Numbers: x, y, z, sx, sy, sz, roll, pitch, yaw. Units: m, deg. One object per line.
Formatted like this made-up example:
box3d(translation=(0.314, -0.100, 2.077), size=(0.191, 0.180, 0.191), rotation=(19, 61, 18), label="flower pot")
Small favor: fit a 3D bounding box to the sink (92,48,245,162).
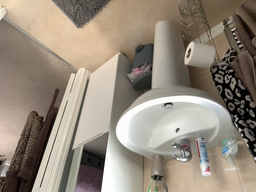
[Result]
box3d(translation=(0.180, 0.100, 1.060), size=(0.570, 0.170, 0.430), rotation=(-30, 129, 33), label="sink")
